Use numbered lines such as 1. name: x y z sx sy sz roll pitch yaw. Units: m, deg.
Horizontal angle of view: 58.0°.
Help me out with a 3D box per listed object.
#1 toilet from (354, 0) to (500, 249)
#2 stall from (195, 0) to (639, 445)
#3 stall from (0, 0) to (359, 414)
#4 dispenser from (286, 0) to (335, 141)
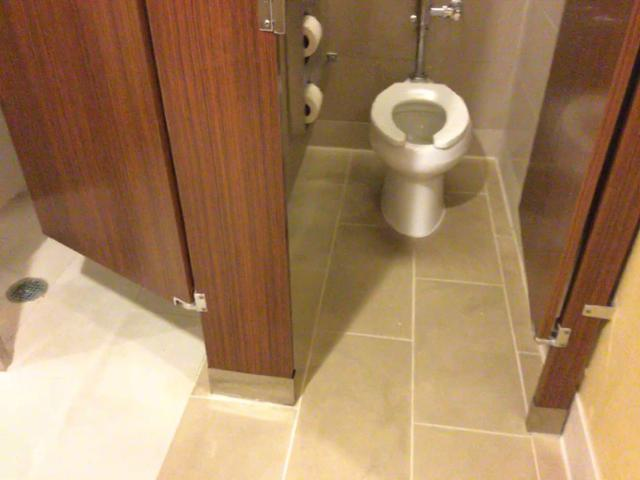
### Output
1. toilet: 0.380 -0.520 2.230 0.390 0.770 0.770 5 35 6
2. stall: 0.330 -0.640 1.640 0.870 1.660 1.530 5 35 6
3. stall: -0.440 -0.630 1.780 0.990 1.470 1.550 5 35 6
4. dispenser: -0.020 -0.710 1.680 0.080 0.730 0.400 5 35 6
